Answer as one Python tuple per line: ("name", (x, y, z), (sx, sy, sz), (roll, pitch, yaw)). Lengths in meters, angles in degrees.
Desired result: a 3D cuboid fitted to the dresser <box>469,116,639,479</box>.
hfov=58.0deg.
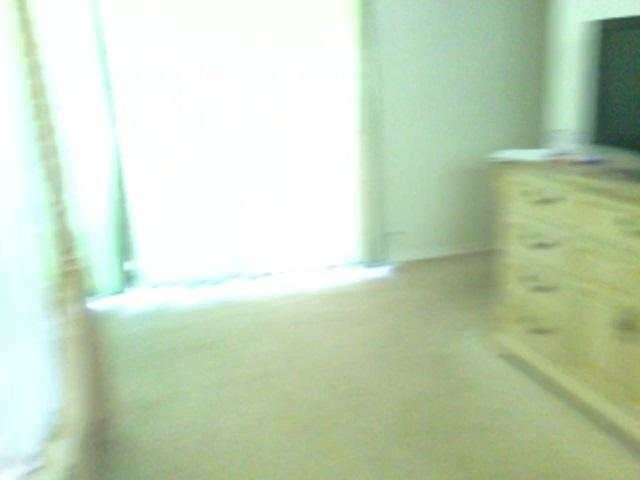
("dresser", (1.300, 0.190, 2.070), (0.720, 1.070, 1.770), (-6, 17, -12))
